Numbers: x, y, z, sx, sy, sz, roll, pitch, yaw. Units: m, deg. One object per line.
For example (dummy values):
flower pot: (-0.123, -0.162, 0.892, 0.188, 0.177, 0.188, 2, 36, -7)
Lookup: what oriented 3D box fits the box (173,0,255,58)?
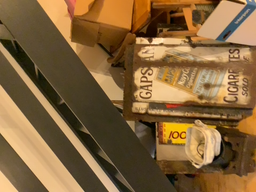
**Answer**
box: (0.700, -0.620, 1.470, 0.450, 0.520, 0.470, 130, 137, -56)
